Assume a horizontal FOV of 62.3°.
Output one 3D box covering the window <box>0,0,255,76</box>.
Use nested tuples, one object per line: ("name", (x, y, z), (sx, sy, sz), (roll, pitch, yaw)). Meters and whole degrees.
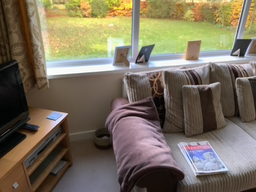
("window", (0.580, -0.990, 2.130), (3.520, 1.400, 0.040), (-6, 28, -14))

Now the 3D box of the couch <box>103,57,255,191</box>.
("couch", (0.910, 0.250, 1.880), (2.090, 0.850, 0.990), (-6, 29, -15))

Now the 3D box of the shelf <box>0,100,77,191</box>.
("shelf", (-0.770, 0.430, 1.720), (0.450, 0.540, 0.540), (9, 28, 14))
